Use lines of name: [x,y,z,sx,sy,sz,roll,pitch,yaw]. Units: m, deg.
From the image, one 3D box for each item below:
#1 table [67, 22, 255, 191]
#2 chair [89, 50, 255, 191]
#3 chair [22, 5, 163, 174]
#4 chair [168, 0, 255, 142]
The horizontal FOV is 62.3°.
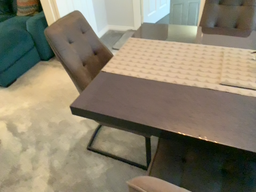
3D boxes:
table: [0.680,0.190,1.210,1.590,0.770,0.940,11,43,18]
chair: [0.280,0.410,0.850,0.470,0.950,0.580,12,43,19]
chair: [-0.120,-0.020,1.400,0.580,0.950,0.480,9,42,16]
chair: [0.620,-0.240,1.590,0.450,0.940,0.600,11,43,18]
